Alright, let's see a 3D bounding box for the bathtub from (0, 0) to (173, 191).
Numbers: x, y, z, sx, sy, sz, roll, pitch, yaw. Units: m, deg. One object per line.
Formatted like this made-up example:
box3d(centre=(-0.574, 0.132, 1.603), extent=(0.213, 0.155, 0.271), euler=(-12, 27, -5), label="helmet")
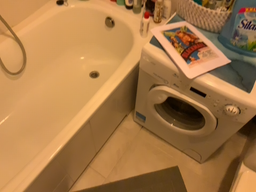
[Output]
box3d(centre=(-0.430, 0.030, 1.210), extent=(0.680, 0.550, 1.430), euler=(30, 61, 16), label="bathtub")
